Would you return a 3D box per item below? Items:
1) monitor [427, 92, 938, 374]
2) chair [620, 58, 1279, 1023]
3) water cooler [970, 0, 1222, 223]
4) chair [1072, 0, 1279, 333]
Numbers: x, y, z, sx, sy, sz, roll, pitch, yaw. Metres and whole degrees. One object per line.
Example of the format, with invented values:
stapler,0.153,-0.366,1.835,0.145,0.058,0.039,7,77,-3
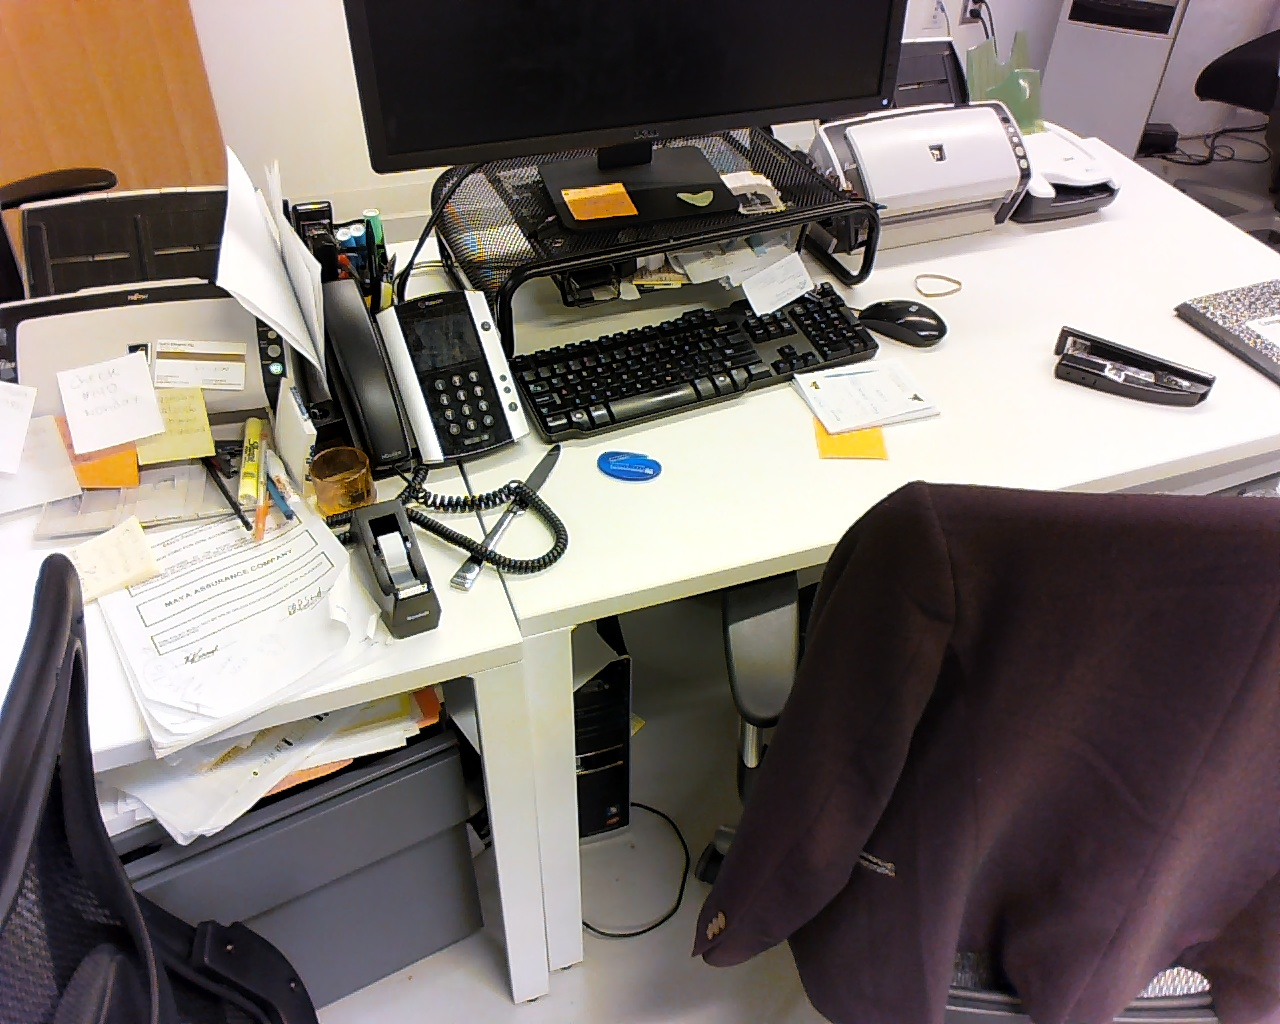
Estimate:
monitor,0.040,-0.390,1.430,0.580,0.160,0.340,-11,43,-13
chair,0.420,0.220,1.150,0.730,1.100,0.660,-11,43,-12
water cooler,1.340,-1.410,3.040,0.510,0.980,0.410,17,45,18
chair,1.750,-1.120,2.670,0.670,1.060,0.760,-25,48,-26
